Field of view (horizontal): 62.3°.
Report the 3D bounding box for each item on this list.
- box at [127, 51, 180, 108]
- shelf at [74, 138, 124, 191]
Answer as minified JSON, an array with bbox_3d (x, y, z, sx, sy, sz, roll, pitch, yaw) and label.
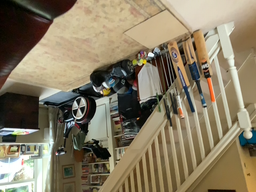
[{"bbox_3d":[0.340,-0.200,2.990,0.390,0.590,0.550,9,159,-42],"label":"box"},{"bbox_3d":[-0.680,1.780,4.720,1.350,1.510,0.170,-17,161,36],"label":"shelf"}]
